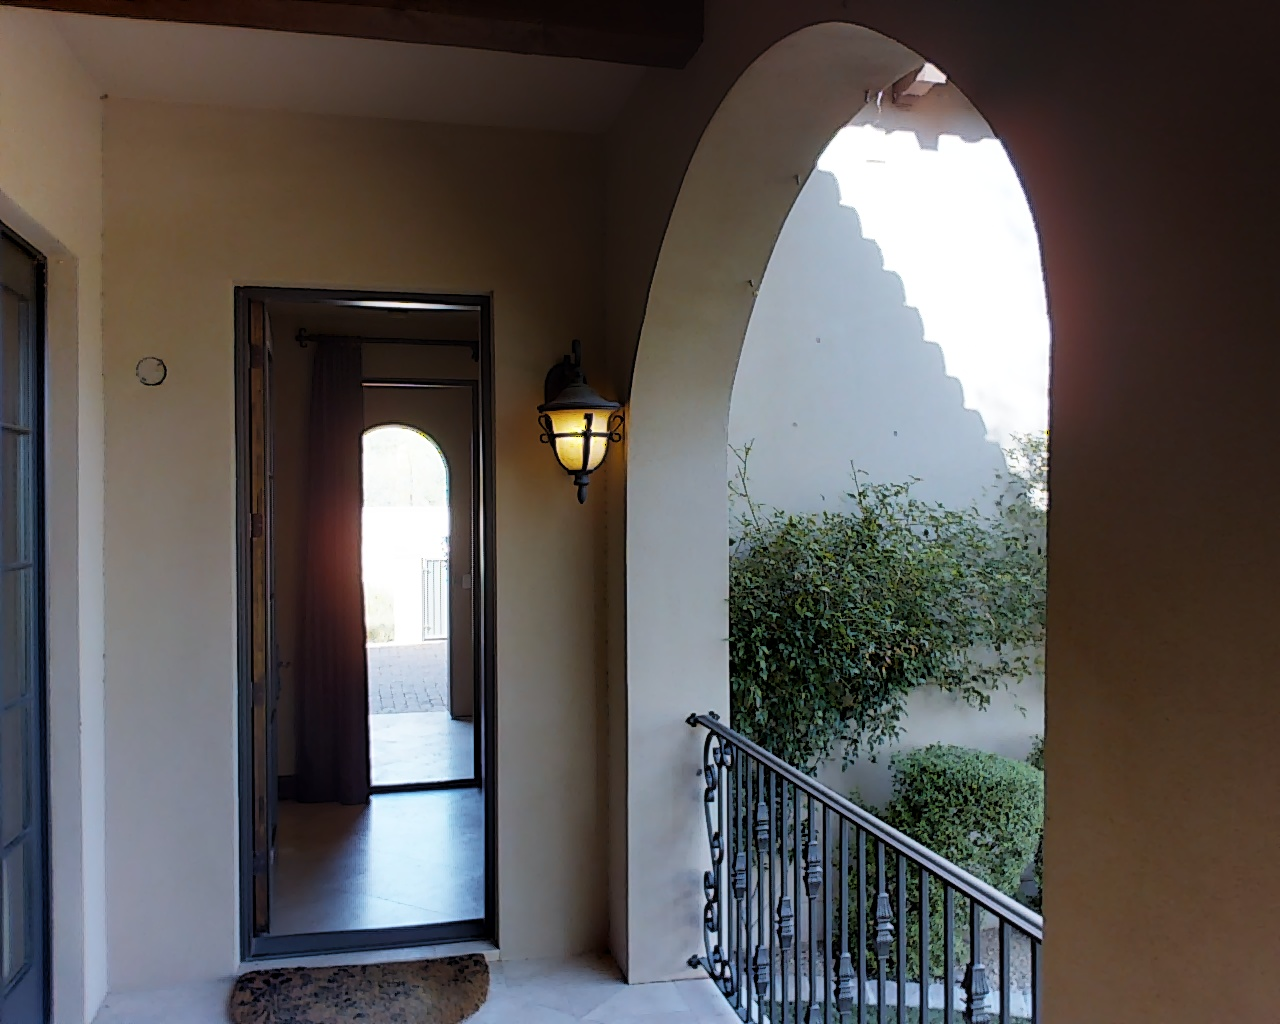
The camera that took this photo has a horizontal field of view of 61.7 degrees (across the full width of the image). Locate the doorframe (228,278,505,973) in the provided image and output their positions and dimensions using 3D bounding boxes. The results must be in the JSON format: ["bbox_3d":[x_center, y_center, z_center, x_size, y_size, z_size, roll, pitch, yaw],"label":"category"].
[{"bbox_3d":[-1.000,0.390,3.970,0.950,2.410,0.290,0,0,-14],"label":"doorframe"}]

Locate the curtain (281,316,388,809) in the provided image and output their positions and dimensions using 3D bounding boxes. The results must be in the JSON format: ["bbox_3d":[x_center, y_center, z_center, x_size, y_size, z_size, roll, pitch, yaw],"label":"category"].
[{"bbox_3d":[-1.700,0.270,5.990,0.550,2.660,0.300,0,0,-14],"label":"curtain"}]

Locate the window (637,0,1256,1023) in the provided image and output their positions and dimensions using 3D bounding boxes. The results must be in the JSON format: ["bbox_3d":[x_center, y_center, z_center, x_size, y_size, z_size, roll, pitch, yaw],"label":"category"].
[{"bbox_3d":[0.440,0.240,2.640,0.340,2.730,2.340,0,0,-14],"label":"window"}]
